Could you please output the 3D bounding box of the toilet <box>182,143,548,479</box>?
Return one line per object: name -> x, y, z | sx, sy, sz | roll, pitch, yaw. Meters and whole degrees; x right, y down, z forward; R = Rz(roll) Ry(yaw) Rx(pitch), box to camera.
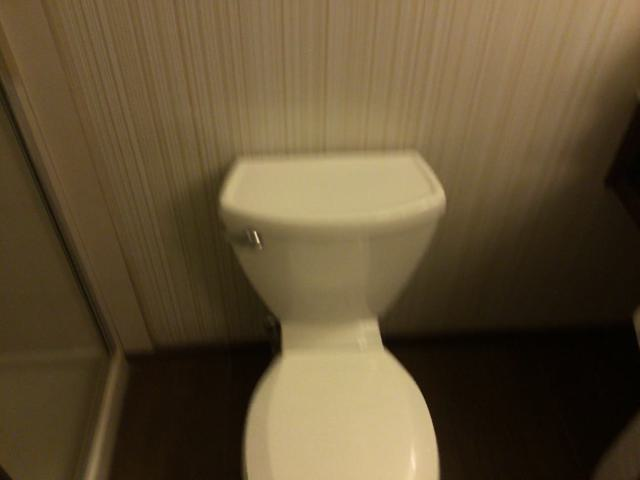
toilet -> 0.030, 0.320, 1.160 | 0.440, 0.700, 0.750 | -2, 45, -3
